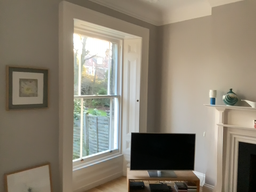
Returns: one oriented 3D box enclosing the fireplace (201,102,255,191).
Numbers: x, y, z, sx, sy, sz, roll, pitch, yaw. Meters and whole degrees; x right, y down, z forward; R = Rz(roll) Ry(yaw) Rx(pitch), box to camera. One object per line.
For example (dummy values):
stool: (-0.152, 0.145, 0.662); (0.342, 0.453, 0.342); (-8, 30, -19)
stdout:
fireplace: (1.900, 0.840, 2.660); (1.740, 1.400, 0.570); (4, 4, 42)

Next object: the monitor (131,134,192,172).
monitor: (0.490, 0.830, 3.090); (0.880, 0.540, 0.030); (1, 3, -6)
